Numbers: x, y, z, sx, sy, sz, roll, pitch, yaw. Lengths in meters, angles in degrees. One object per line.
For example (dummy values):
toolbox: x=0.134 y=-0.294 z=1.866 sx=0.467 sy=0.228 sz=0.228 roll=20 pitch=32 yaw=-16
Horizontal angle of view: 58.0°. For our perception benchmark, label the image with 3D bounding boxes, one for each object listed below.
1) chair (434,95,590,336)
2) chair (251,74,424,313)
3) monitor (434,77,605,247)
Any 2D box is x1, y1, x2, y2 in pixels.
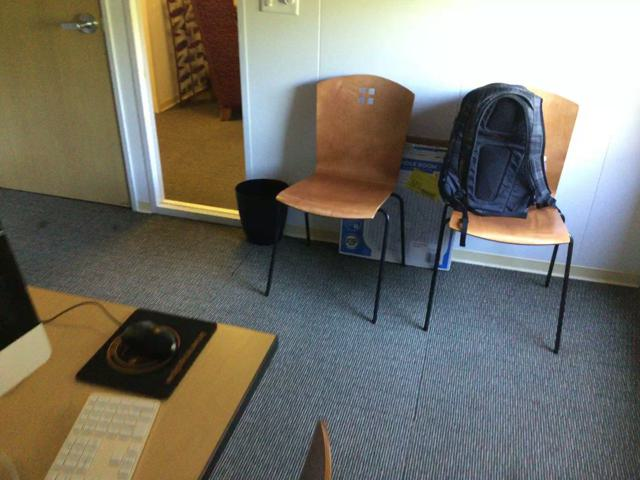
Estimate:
chair: x=0.680 y=-0.110 z=2.160 sx=0.400 sy=0.730 sz=0.490 roll=7 pitch=28 yaw=13
chair: x=0.070 y=-0.210 z=2.350 sx=0.550 sy=0.760 sz=0.520 roll=9 pitch=28 yaw=11
monitor: x=0.670 y=-0.280 z=2.030 sx=0.450 sy=0.480 sz=0.260 roll=9 pitch=28 yaw=11
